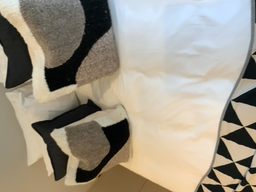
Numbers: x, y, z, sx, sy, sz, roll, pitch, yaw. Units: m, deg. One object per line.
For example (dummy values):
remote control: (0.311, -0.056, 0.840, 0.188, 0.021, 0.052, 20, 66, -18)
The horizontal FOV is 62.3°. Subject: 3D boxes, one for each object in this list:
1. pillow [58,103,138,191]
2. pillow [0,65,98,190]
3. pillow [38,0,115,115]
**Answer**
pillow: (-0.150, 0.360, 1.310, 0.240, 0.390, 0.440, 19, 131, 29)
pillow: (-0.580, 0.230, 1.610, 0.410, 0.370, 0.800, 14, 128, 33)
pillow: (-0.190, -0.210, 0.980, 0.130, 0.370, 0.460, 0, 127, 10)
